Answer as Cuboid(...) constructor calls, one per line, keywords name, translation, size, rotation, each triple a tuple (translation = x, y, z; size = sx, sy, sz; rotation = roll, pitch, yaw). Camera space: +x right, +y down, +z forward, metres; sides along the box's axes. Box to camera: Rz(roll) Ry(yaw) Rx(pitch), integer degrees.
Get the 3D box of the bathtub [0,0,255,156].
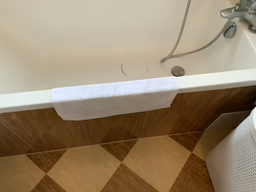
Cuboid(name="bathtub", translation=(-0.090, -0.170, 1.200), size=(1.550, 0.590, 0.690), rotation=(-6, 62, -7))
